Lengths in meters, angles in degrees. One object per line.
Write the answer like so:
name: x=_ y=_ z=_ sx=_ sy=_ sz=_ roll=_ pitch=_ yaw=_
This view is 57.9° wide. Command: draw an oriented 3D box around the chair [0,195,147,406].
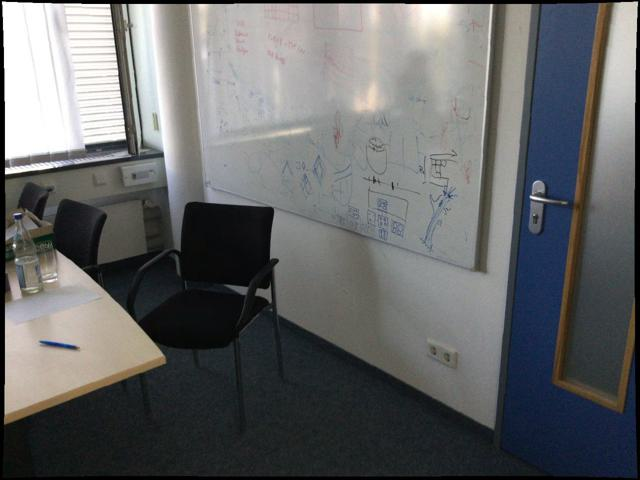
chair: x=-1.199 y=0.240 z=2.650 sx=0.490 sy=0.721 sz=0.520 roll=-21 pitch=27 yaw=-40

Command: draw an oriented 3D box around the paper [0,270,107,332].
paper: x=-0.929 y=0.200 z=1.990 sx=0.310 sy=0.050 sz=0.220 roll=-18 pitch=25 yaw=-35

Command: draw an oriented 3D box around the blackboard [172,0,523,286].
blackboard: x=-0.080 y=-0.801 z=2.630 sx=0.190 sy=1.461 sz=2.109 roll=-18 pitch=25 yaw=-35

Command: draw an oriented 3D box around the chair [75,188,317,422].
chair: x=-0.470 y=0.220 z=2.500 sx=0.679 sy=0.701 sz=0.700 roll=4 pitch=22 yaw=19
